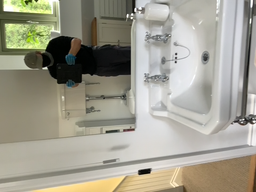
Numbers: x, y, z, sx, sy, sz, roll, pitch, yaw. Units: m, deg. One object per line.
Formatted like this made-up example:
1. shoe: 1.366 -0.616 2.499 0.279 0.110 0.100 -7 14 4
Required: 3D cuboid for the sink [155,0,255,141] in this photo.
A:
1. sink: 0.310 -0.180 0.970 0.490 0.170 0.620 -159 68 -70
